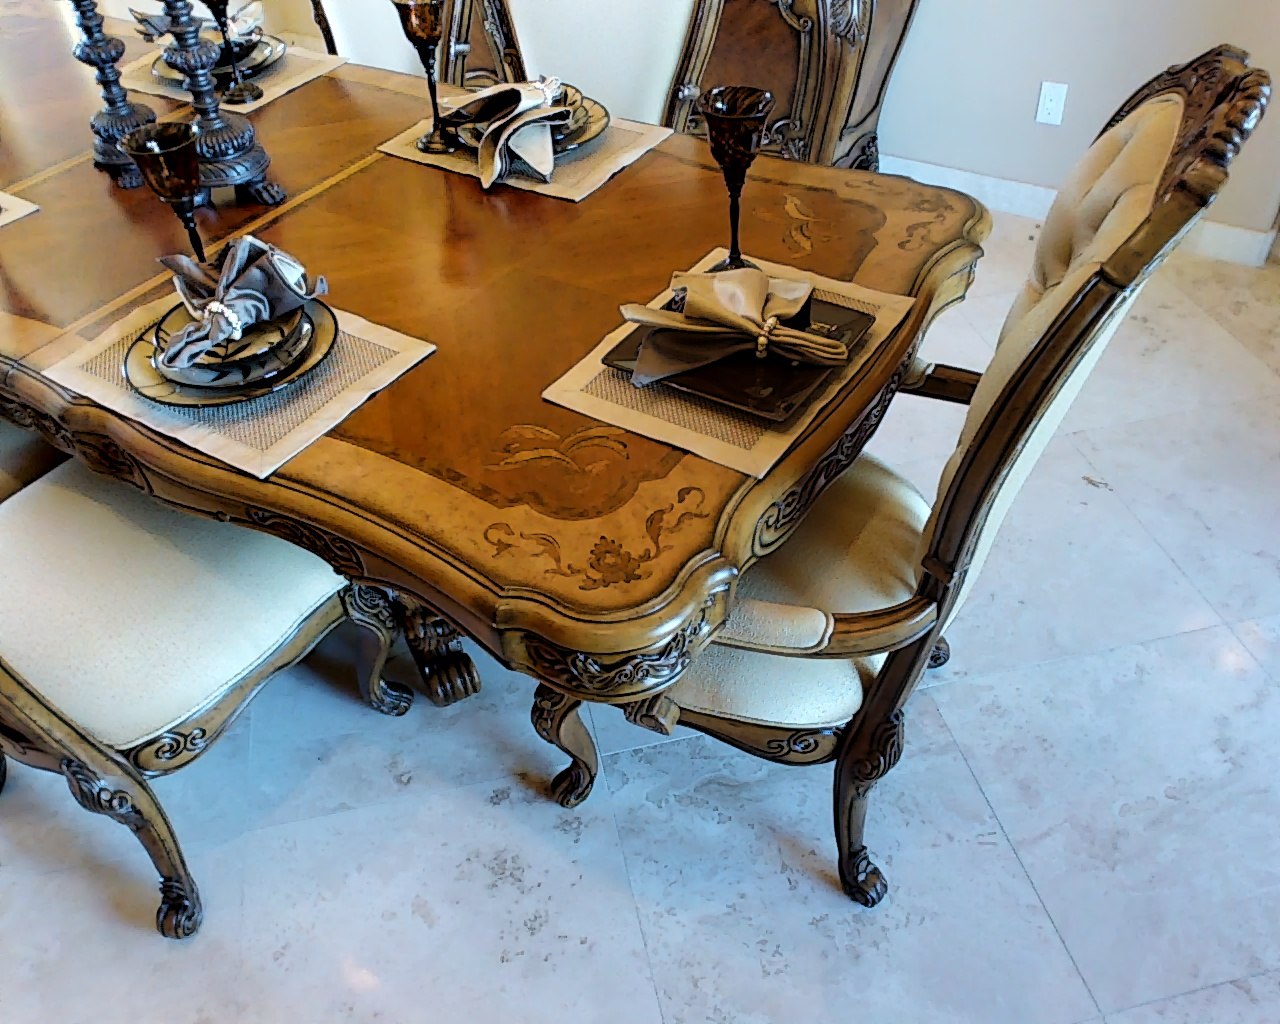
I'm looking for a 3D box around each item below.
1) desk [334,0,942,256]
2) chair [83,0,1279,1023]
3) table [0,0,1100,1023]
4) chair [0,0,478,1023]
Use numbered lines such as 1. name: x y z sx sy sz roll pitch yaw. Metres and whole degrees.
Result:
1. desk: -0.070 -1.589 3.260 1.830 1.040 0.600 21 48 25
2. chair: 0.120 -0.130 1.550 1.180 1.200 0.750 21 48 25
3. table: -0.740 -0.360 2.160 2.751 0.790 1.200 21 48 25
4. chair: -1.110 -0.130 1.640 1.300 1.200 0.840 20 47 24
